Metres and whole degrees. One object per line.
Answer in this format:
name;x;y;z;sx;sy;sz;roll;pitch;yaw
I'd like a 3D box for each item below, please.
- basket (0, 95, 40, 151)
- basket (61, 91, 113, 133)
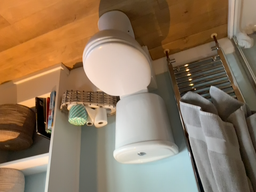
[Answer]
basket;-0.950;0.220;1.640;0.390;0.300;0.250;-13;147;11
basket;-0.280;0.120;1.500;0.270;0.150;0.250;-13;147;11
